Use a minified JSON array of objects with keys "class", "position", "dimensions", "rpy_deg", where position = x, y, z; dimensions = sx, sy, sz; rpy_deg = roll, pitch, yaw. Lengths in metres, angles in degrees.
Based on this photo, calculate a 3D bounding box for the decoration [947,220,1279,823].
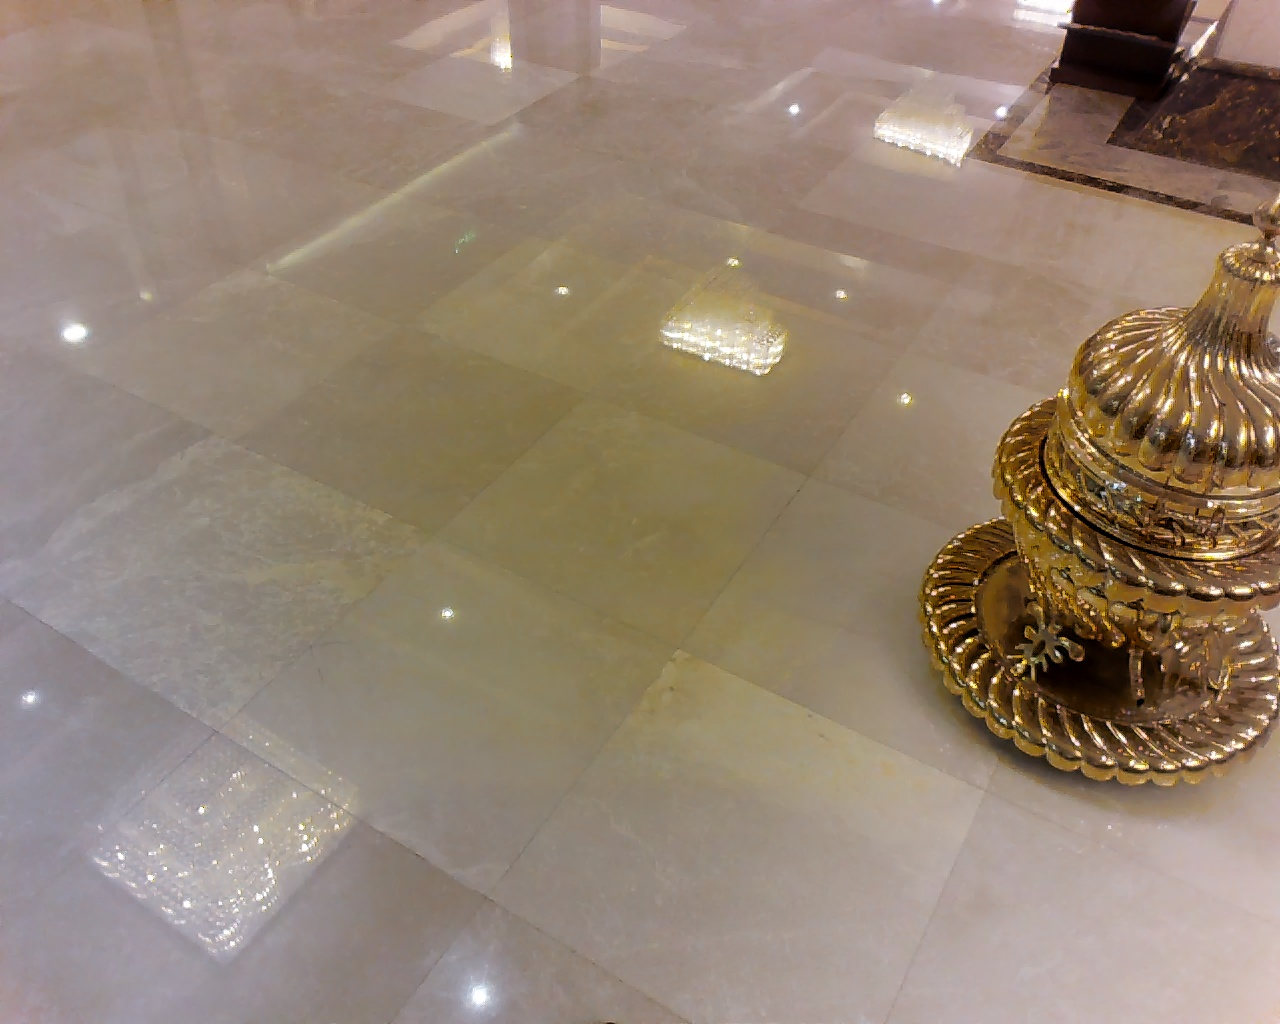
[{"class":"decoration","position":[0.880,0.010,1.820],"dimensions":[0.390,0.730,0.600],"rpy_deg":[22,46,23]}]
